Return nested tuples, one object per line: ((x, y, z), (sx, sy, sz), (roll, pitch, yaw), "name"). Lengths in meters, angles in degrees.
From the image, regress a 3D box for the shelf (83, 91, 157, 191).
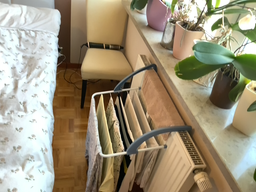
((-0.110, 0.350, 1.410), (0.330, 0.520, 0.560), (2, 39, -15), "shelf")

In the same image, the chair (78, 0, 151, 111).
((-0.210, -0.450, 2.040), (0.460, 0.960, 0.700), (1, 39, -16), "chair")
